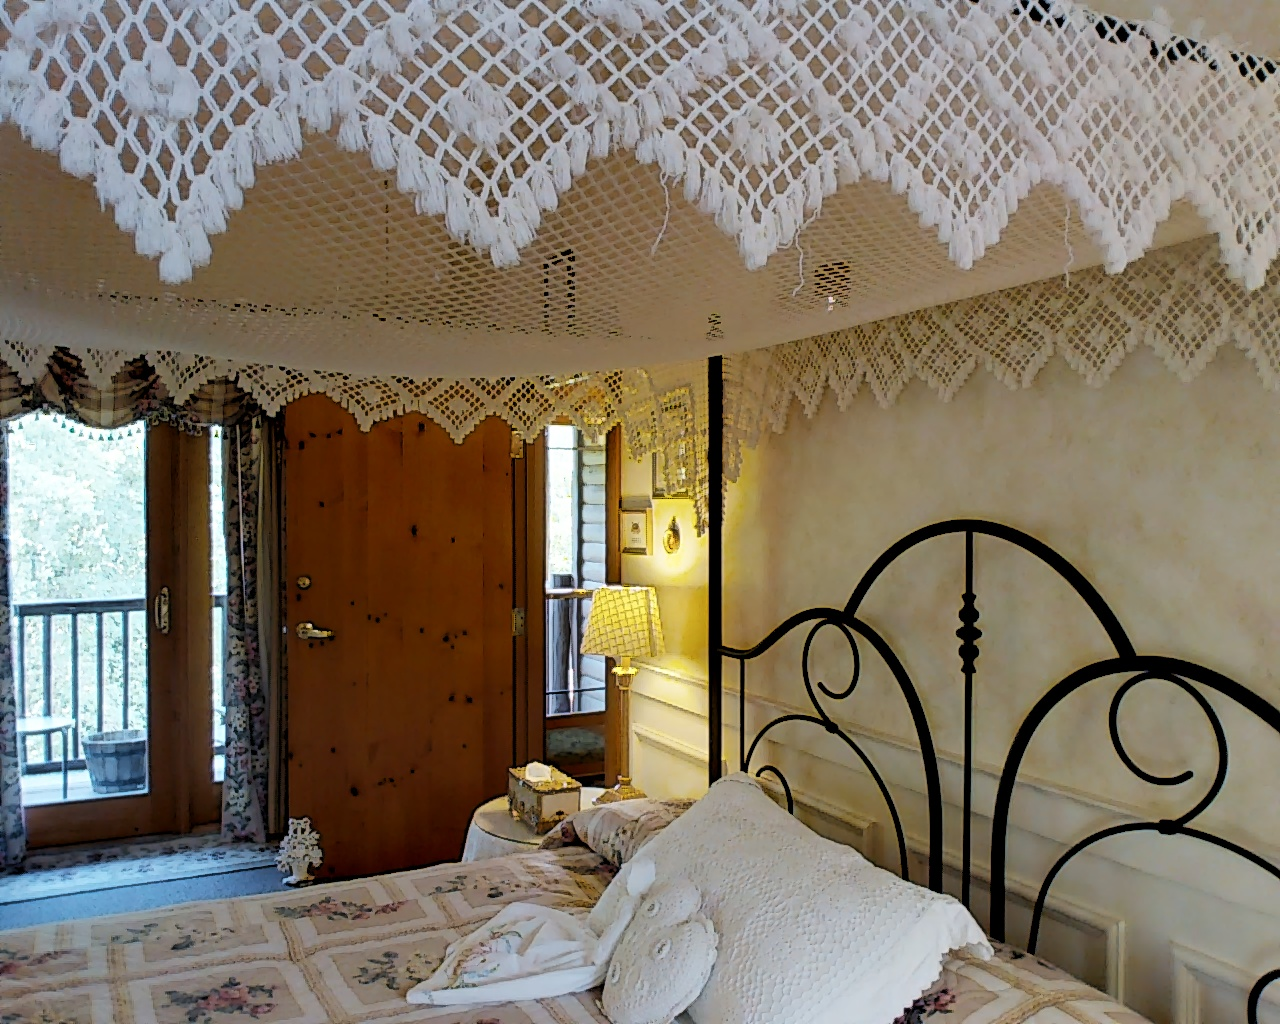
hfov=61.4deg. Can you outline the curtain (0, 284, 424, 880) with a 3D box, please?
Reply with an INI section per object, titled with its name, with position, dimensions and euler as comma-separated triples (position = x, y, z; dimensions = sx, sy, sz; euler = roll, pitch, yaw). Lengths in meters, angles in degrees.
[curtain]
position = -2.359, 0.280, 4.590
dimensions = 2.839, 2.401, 0.240
euler = -1, 0, -28
